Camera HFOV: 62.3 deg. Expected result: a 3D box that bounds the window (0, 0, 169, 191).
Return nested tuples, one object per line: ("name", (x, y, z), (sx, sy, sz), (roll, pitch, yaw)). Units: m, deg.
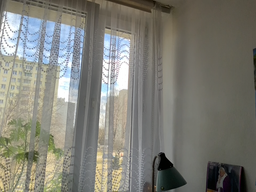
("window", (-0.260, 0.040, 1.340), (1.140, 1.550, 0.170), (8, -12, -26))
